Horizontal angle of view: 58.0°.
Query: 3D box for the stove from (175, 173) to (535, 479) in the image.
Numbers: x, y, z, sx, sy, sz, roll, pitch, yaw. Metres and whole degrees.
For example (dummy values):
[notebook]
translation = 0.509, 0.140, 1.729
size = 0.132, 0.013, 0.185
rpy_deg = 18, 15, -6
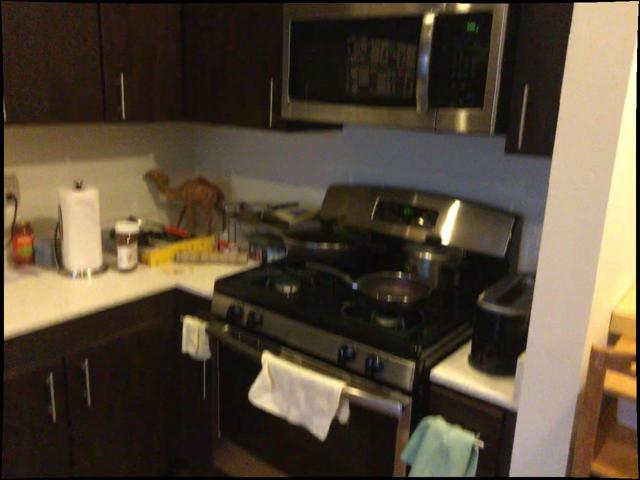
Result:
[stove]
translation = 0.120, 0.431, 1.910
size = 0.829, 1.143, 0.760
rpy_deg = 11, 18, 32
